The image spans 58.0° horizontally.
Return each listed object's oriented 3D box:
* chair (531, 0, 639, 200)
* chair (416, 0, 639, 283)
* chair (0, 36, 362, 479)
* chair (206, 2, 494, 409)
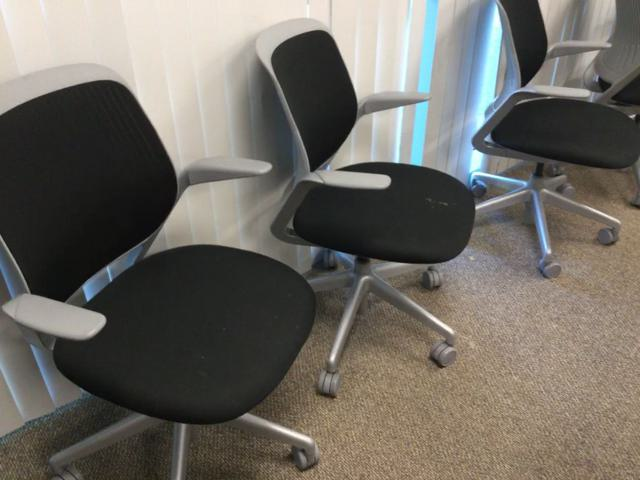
[{"bbox_3d":[1.350,-0.690,2.430,0.610,0.810,0.640,18,38,32],"label":"chair"},{"bbox_3d":[0.770,-0.450,2.070,0.600,0.890,0.570,-28,39,-33],"label":"chair"},{"bbox_3d":[-0.330,0.110,1.270,0.680,0.930,0.640,6,33,17],"label":"chair"},{"bbox_3d":[0.140,-0.120,1.670,0.560,0.960,0.570,8,34,19],"label":"chair"}]
